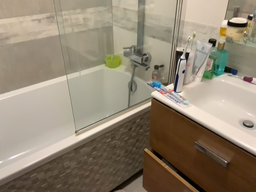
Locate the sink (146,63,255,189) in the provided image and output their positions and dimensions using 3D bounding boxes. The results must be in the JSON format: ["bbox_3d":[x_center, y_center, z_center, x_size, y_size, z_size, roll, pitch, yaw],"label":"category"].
[{"bbox_3d":[0.440,0.080,0.810,0.440,0.130,0.600,-24,39,-33],"label":"sink"}]

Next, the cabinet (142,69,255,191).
[{"bbox_3d":[0.440,0.300,0.950,0.440,0.580,0.600,-24,39,-33],"label":"cabinet"}]
